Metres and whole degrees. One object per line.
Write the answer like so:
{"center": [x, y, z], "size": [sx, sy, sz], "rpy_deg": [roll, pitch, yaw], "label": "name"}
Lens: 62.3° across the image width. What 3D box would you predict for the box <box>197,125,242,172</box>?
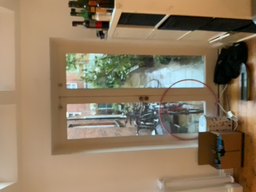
{"center": [1.040, 0.590, 2.440], "size": [0.230, 0.400, 0.460], "rpy_deg": [167, 101, -79], "label": "box"}
